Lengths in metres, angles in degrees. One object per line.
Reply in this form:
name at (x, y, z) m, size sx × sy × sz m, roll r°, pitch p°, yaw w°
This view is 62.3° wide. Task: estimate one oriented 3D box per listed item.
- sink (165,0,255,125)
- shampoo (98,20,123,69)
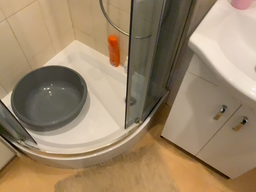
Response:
sink at (0.450, -0.120, 0.680) m, size 0.500 × 0.140 × 0.410 m, roll 31°, pitch 61°, yaw 18°
shampoo at (-0.110, -0.320, 1.370) m, size 0.130 × 0.310 × 0.060 m, roll 26°, pitch 59°, yaw 14°
